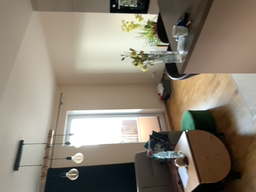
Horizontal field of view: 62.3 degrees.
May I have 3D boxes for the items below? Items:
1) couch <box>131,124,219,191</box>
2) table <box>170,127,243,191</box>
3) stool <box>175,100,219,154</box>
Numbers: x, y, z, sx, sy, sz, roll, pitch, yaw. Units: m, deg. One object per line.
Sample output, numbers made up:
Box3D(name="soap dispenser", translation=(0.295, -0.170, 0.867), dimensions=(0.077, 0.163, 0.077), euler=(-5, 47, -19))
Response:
Box3D(name="couch", translation=(0.690, 1.580, 3.200), dimensions=(0.990, 0.990, 2.070), euler=(99, 168, -51))
Box3D(name="table", translation=(0.960, 0.860, 2.780), dimensions=(0.620, 0.540, 0.660), euler=(99, 168, -51))
Box3D(name="stool", translation=(1.010, 0.480, 3.230), dimensions=(0.610, 0.320, 0.580), euler=(99, 168, -51))
